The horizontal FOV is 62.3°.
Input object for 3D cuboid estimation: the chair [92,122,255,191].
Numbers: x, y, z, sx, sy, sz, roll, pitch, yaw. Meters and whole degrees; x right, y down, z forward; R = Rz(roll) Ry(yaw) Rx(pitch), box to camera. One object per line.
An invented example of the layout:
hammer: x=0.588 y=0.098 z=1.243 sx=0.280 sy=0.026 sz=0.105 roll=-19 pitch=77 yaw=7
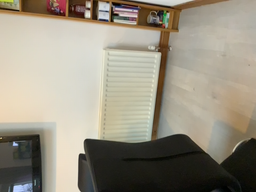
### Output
chair: x=0.310 y=0.500 z=1.150 sx=0.490 sy=0.920 sz=0.520 roll=-136 pitch=49 yaw=-65
